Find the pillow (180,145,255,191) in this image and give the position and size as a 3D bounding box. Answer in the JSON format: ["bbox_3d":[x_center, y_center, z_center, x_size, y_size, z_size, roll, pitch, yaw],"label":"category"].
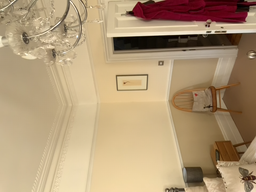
[{"bbox_3d":[0.910,1.090,2.180,0.590,0.500,1.140,-92,0,-48],"label":"pillow"}]
